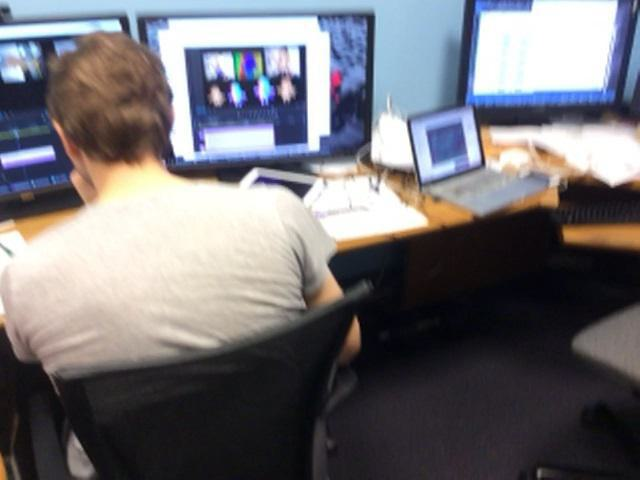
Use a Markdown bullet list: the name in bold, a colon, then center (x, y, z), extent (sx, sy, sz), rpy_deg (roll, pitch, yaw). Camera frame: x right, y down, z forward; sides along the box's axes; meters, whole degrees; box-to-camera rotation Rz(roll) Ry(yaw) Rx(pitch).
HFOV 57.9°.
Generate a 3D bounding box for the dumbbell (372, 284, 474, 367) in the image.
- **dumbbell**: center (0.380, 0.310, 2.150), extent (0.300, 0.150, 0.200), rpy_deg (-13, 31, -25)

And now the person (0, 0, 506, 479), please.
- **person**: center (-0.260, 0.120, 1.190), extent (0.660, 1.170, 0.830), rpy_deg (-13, 31, -25)

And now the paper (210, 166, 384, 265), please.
- **paper**: center (-0.070, -0.080, 1.480), extent (0.310, 0.060, 0.370), rpy_deg (-13, 31, -25)
